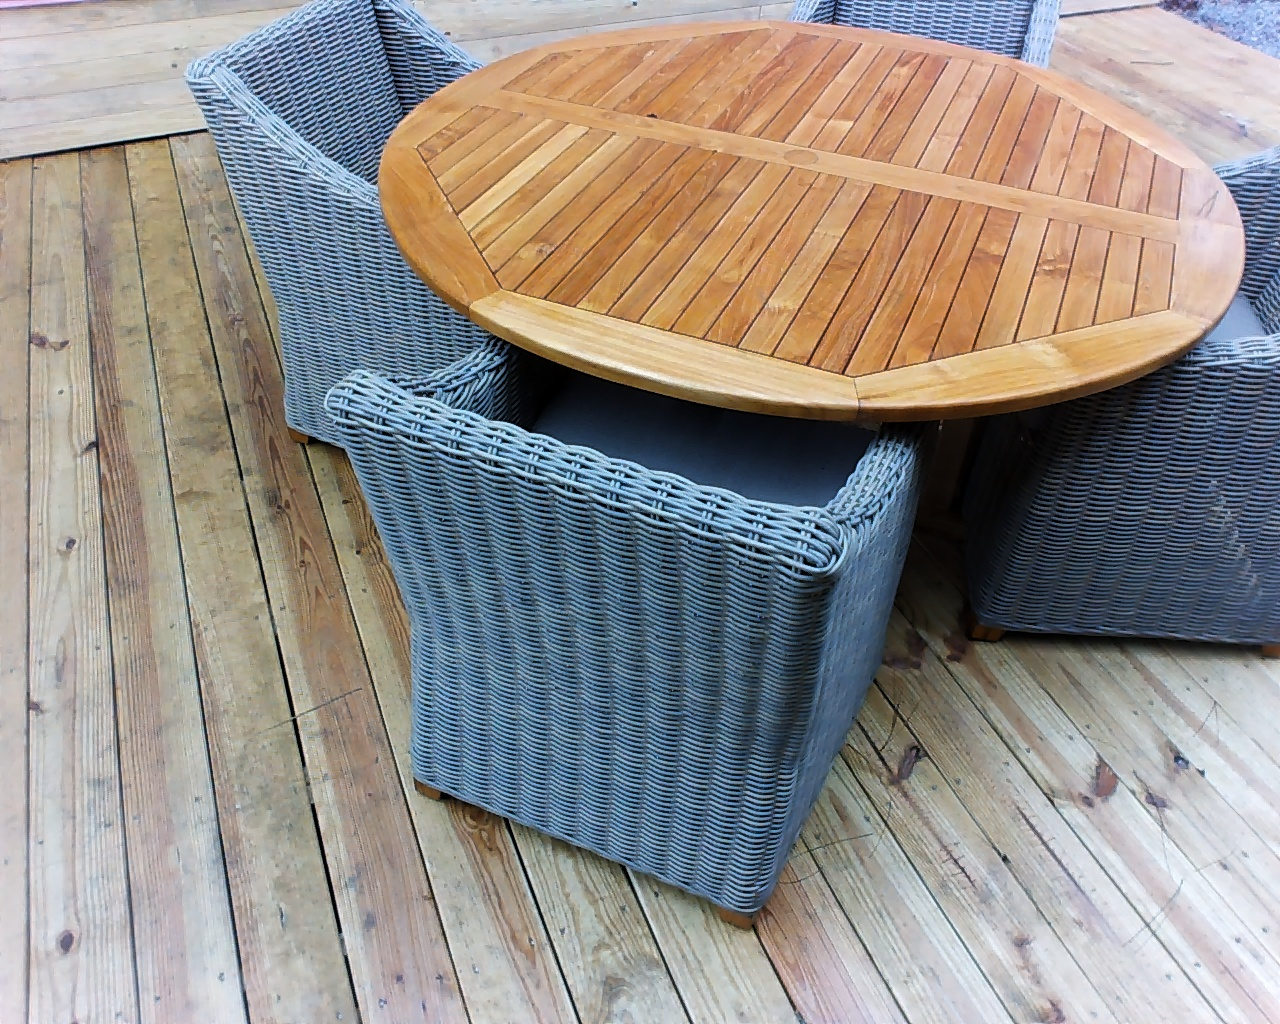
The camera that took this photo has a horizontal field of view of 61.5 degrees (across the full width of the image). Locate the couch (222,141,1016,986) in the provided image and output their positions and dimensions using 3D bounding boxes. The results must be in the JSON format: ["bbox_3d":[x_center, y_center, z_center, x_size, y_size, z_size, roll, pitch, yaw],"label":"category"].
[{"bbox_3d":[0.020,0.050,1.660,0.790,0.860,0.730,16,44,16],"label":"couch"}]

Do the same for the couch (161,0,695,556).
[{"bbox_3d":[-0.370,-0.550,2.320,0.730,0.870,0.720,16,44,16],"label":"couch"}]

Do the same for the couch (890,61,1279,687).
[{"bbox_3d":[0.980,-0.260,2.040,0.840,0.860,0.720,7,42,6],"label":"couch"}]
